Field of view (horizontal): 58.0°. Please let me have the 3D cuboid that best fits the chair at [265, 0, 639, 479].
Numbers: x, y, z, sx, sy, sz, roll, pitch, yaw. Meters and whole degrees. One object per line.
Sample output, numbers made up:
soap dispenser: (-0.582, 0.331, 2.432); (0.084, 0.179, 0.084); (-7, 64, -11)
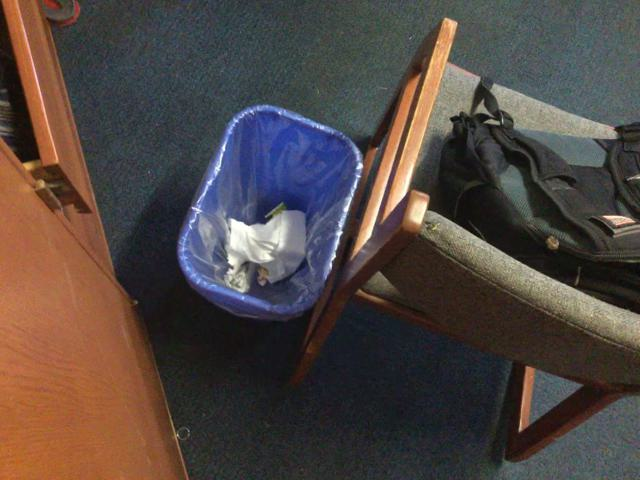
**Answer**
chair: (0.320, 0.060, 1.030); (0.570, 0.640, 0.790); (28, -19, 2)
